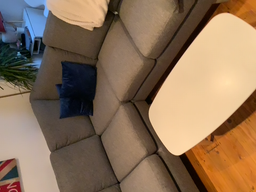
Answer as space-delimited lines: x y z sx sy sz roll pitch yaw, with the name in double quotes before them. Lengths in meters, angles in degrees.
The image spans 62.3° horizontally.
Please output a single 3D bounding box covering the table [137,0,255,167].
"table" 0.540 -0.020 1.400 0.470 0.440 0.950 59 137 29
